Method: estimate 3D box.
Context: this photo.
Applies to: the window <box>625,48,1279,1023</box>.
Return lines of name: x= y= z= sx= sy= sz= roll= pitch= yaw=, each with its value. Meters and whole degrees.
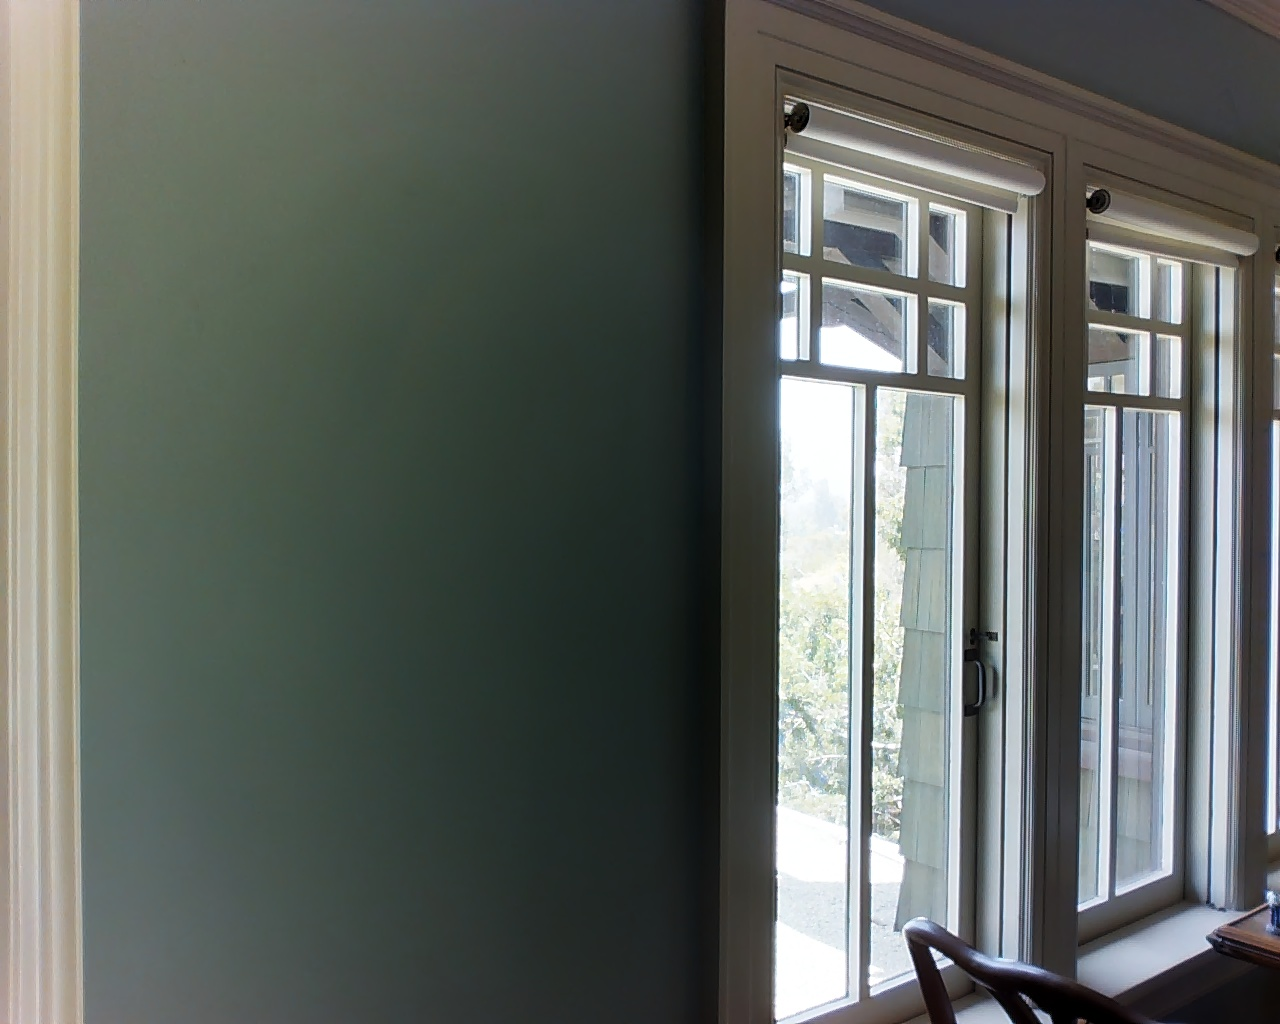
window: x=1.020 y=0.170 z=2.240 sx=2.450 sy=1.590 sz=0.170 roll=0 pitch=1 yaw=-36
